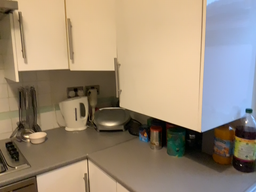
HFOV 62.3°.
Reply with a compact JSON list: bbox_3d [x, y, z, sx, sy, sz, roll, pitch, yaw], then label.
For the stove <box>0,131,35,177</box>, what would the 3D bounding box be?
[{"bbox_3d":[-0.890,0.350,1.150,0.580,0.040,0.540,-9,14,-38],"label":"stove"}]
